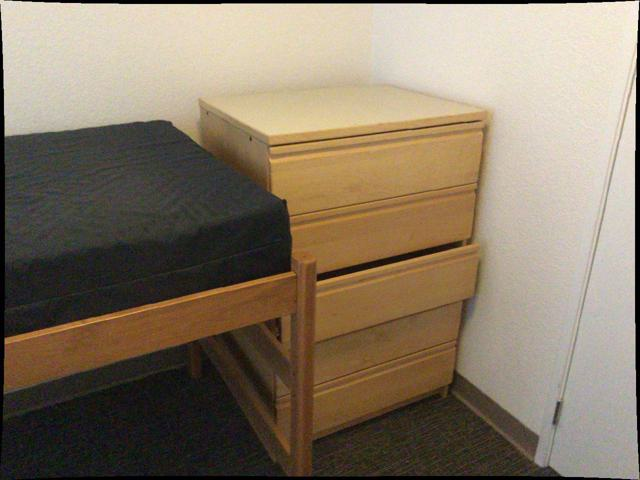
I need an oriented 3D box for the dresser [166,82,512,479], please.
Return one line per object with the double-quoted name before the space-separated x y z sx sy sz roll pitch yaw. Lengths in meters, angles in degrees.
"dresser" 0.000 0.070 2.150 0.869 1.192 0.810 -9 24 -30
